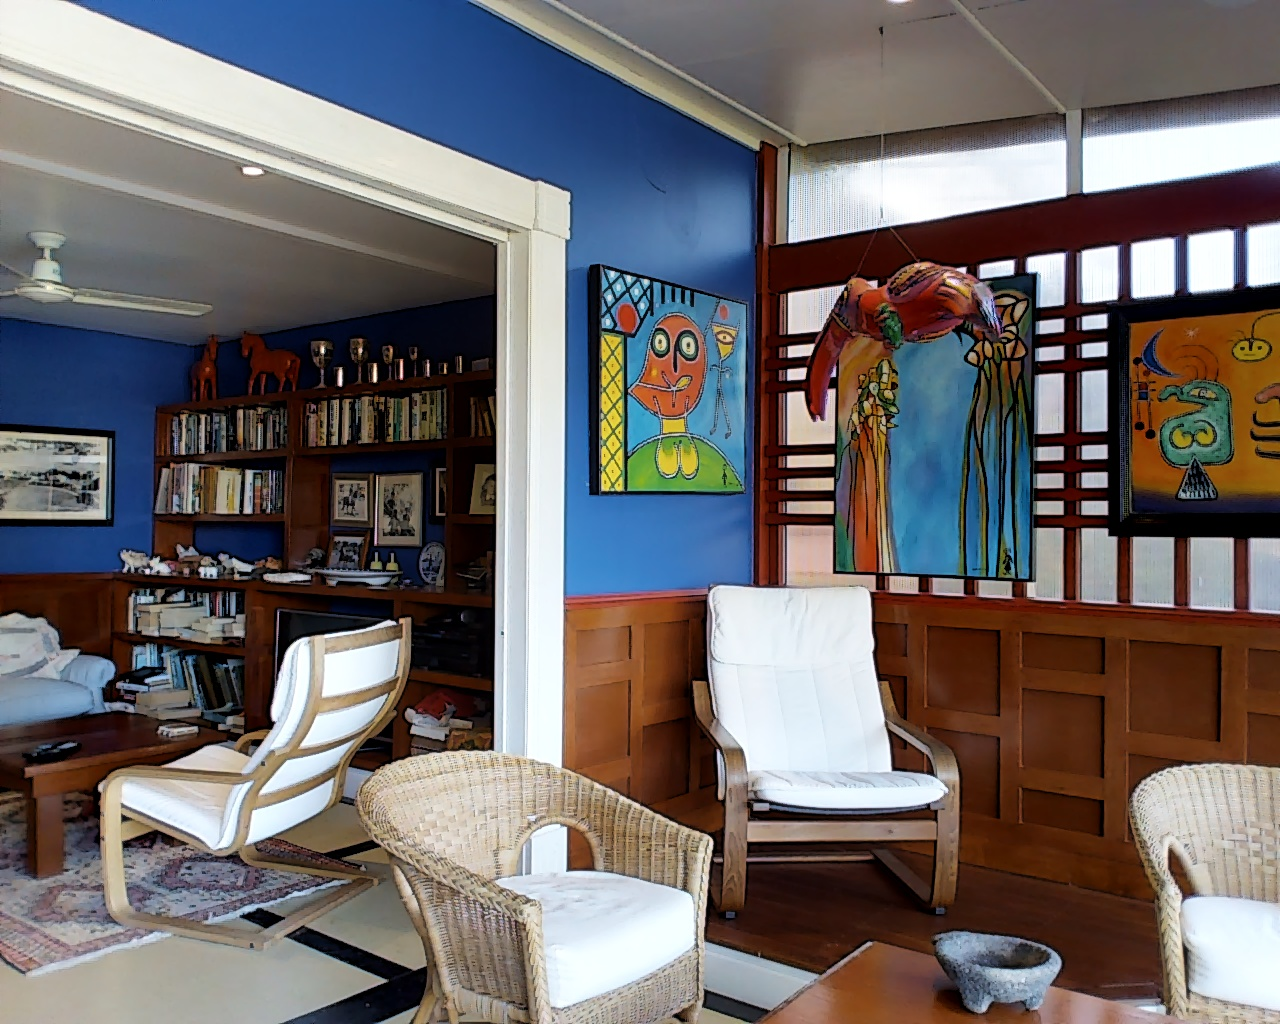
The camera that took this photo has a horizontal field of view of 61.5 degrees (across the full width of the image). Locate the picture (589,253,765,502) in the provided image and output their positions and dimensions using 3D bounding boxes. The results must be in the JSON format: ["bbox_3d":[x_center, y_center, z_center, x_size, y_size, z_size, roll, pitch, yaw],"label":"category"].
[{"bbox_3d":[0.160,-0.430,3.800,0.060,0.760,0.970,0,-1,37],"label":"picture"}]

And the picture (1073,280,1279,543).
[{"bbox_3d":[1.859,-0.290,3.190,1.060,0.760,0.140,0,-1,37],"label":"picture"}]

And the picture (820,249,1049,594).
[{"bbox_3d":[1.030,-0.300,3.830,0.780,1.140,0.130,0,-1,37],"label":"picture"}]

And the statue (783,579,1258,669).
[{"bbox_3d":[1.170,0.330,3.420,1.310,0.160,0.560,0,-1,38],"label":"statue"}]

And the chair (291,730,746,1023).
[{"bbox_3d":[-0.240,0.910,2.190,0.670,0.760,0.620,0,-1,37],"label":"chair"}]

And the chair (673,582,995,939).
[{"bbox_3d":[0.560,0.710,3.410,0.760,0.920,0.870,1,-1,-8],"label":"chair"}]

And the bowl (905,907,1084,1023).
[{"bbox_3d":[0.580,0.740,1.750,0.210,0.080,0.240,0,-1,37],"label":"bowl"}]

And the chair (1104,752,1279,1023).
[{"bbox_3d":[1.290,0.950,2.140,0.660,0.750,0.680,1,-1,23],"label":"chair"}]
